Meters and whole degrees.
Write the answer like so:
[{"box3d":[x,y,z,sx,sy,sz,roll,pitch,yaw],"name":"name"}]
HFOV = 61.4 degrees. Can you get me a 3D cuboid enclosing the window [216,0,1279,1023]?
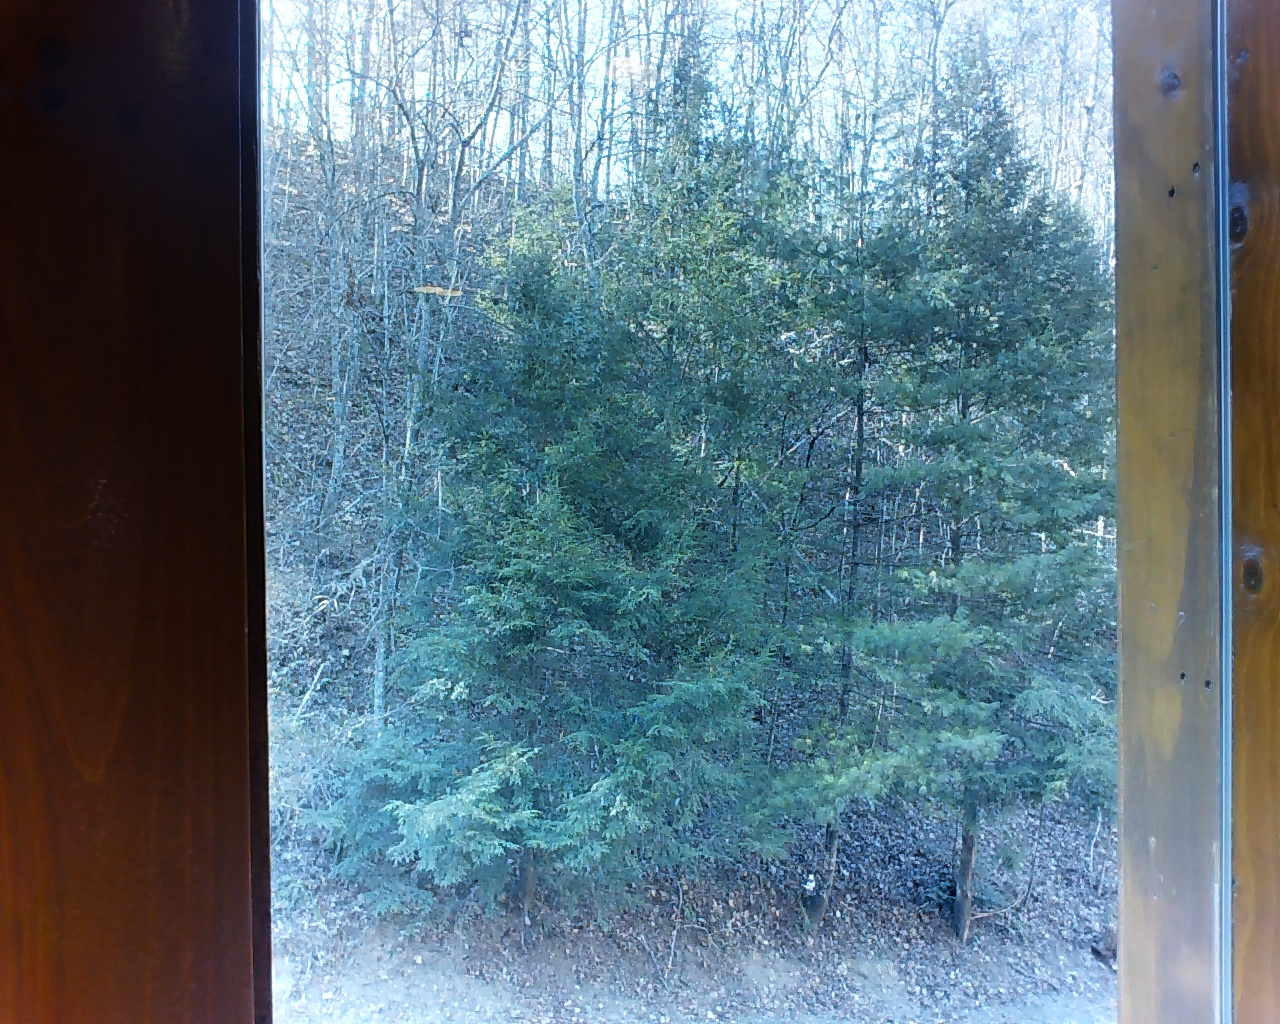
[{"box3d":[0.160,0.070,0.850,0.910,1.951,0.340,0,1,-20],"name":"window"}]
